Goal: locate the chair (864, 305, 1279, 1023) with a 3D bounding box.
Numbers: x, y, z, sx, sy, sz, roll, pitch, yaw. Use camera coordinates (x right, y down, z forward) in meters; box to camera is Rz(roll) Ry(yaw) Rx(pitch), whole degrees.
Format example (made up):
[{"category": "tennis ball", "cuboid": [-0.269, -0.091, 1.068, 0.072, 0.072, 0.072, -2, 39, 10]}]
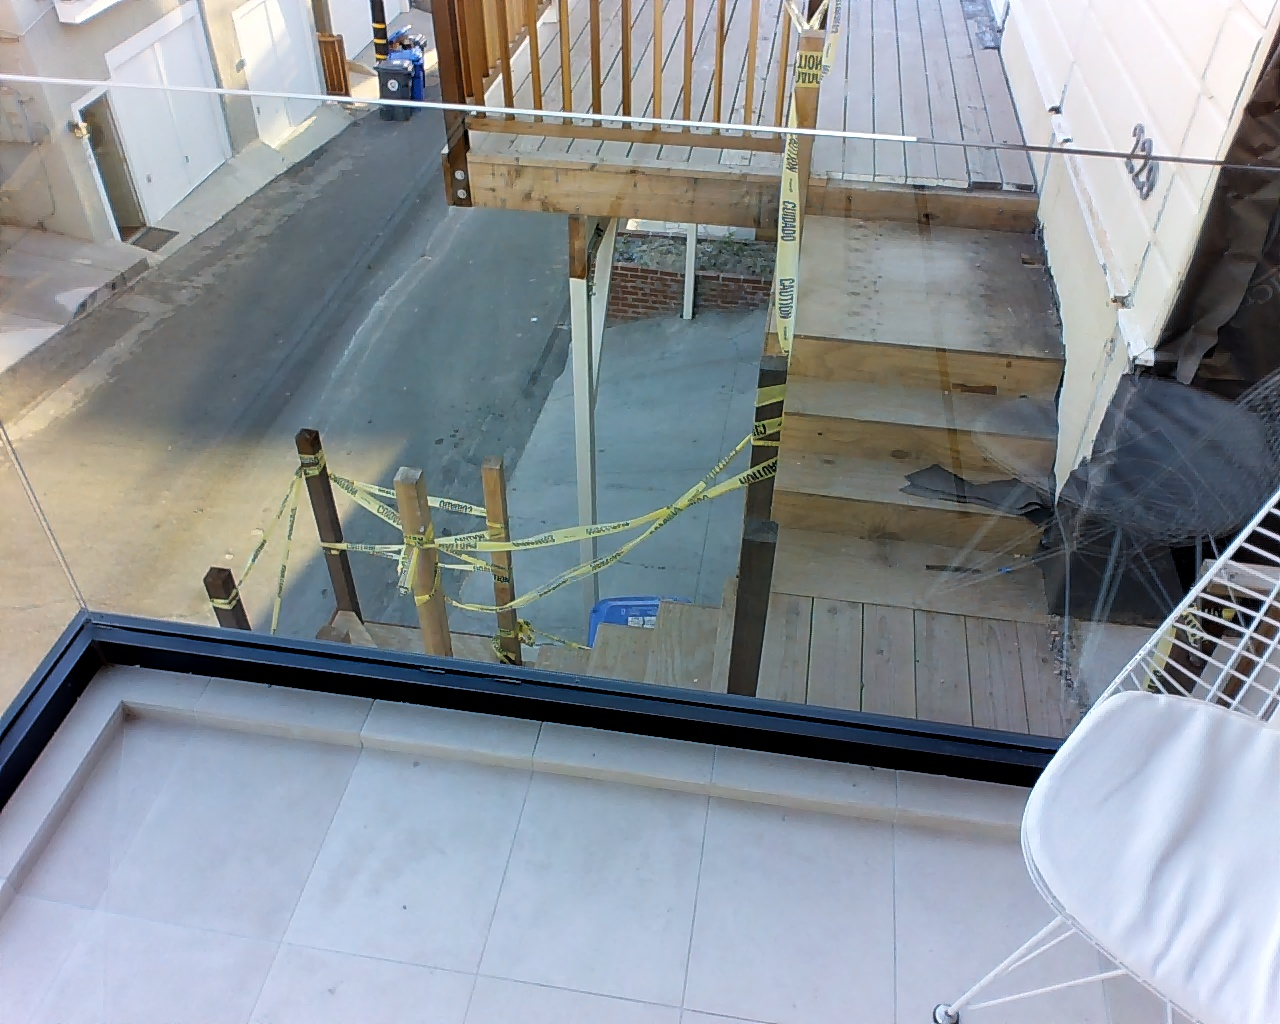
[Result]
[{"category": "chair", "cuboid": [0.770, 0.380, 1.310, 0.610, 0.910, 0.660, 29, 49, 27]}]
